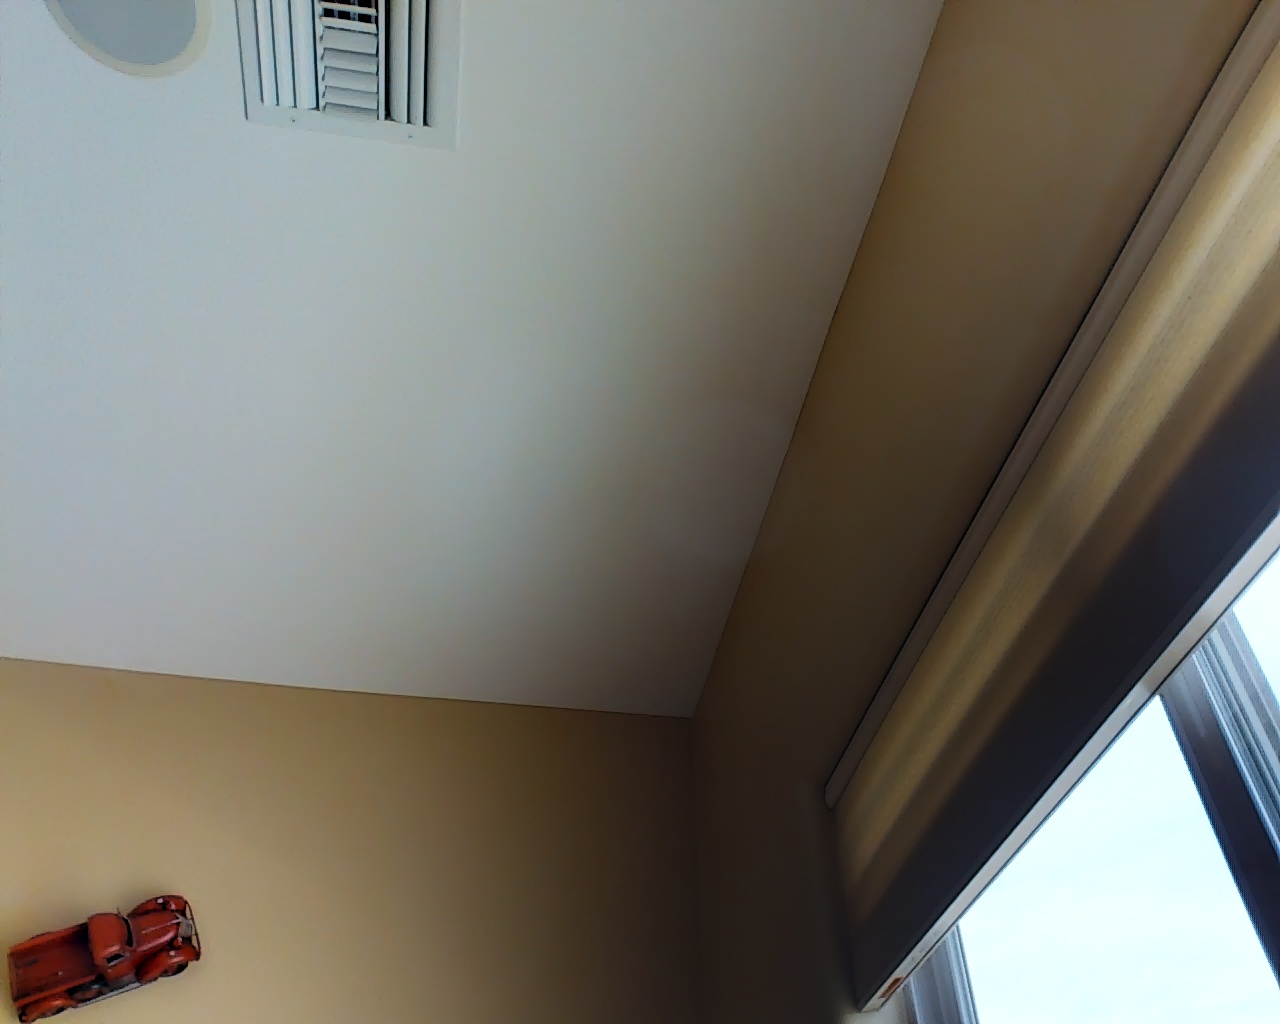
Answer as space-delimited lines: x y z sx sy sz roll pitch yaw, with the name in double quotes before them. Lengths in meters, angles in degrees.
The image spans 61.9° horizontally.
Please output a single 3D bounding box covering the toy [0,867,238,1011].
"toy" -0.990 0.810 2.030 0.390 0.170 0.160 6 -68 -6
